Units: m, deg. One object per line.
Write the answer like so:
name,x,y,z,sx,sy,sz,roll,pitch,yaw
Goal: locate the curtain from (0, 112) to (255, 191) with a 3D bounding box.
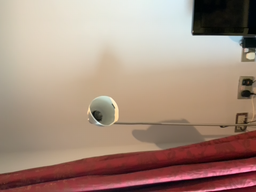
curtain,0.280,0.300,1.090,0.420,2.080,0.320,-129,38,-79
